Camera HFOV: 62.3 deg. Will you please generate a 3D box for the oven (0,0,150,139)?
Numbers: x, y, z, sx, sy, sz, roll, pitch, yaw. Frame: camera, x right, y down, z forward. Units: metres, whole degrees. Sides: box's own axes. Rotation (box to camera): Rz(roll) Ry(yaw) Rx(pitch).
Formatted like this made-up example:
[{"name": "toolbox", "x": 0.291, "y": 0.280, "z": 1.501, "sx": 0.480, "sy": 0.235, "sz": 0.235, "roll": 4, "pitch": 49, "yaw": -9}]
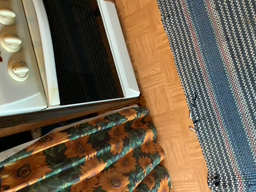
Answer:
[{"name": "oven", "x": -0.370, "y": -0.140, "z": 1.010, "sx": 0.610, "sy": 0.670, "sz": 0.530, "roll": -18, "pitch": 85, "yaw": 28}]
